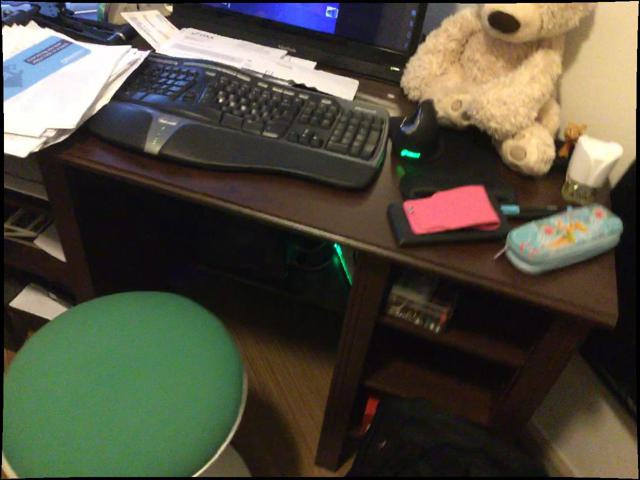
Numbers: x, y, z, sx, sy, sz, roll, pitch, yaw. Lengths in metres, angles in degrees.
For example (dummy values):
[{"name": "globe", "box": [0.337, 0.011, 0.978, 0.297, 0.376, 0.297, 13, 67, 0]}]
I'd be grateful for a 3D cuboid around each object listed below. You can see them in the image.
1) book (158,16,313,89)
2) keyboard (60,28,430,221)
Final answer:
[{"name": "book", "box": [-0.160, -0.371, 1.130, 0.259, 0.020, 0.160, 14, 46, 7]}, {"name": "keyboard", "box": [-0.100, -0.211, 0.960, 0.529, 0.060, 0.300, 13, 46, 6]}]
